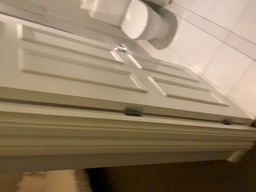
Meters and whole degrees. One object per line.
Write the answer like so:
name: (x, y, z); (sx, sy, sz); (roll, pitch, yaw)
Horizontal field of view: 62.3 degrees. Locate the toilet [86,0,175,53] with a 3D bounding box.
toilet: (0.010, -0.880, 2.380); (0.400, 0.740, 0.590); (-62, 38, 27)
